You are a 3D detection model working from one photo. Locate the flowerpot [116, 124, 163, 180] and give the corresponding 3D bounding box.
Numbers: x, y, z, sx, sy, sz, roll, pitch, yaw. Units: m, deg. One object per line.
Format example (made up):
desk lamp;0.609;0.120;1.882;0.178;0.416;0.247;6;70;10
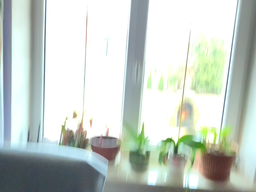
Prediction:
flowerpot;0.080;0.360;1.430;0.270;0.270;0.240;5;8;5
